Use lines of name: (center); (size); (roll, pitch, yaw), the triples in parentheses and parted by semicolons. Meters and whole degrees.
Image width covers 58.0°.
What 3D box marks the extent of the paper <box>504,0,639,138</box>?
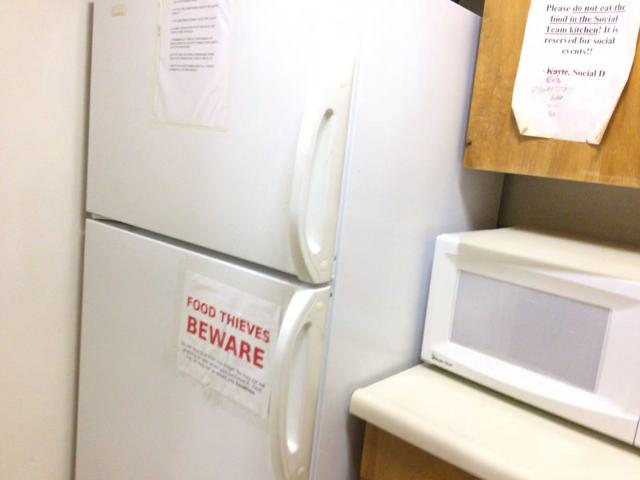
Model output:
paper: (0.470, -0.340, 1.080); (0.210, 0.280, 0.030); (13, 13, 40)
